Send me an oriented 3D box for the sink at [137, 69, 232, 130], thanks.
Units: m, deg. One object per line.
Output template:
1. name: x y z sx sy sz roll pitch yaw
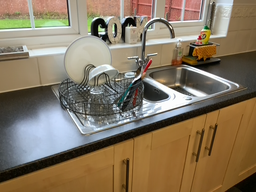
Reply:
1. sink: 0.320 -0.010 1.300 0.340 0.140 0.440 -13 30 -29
